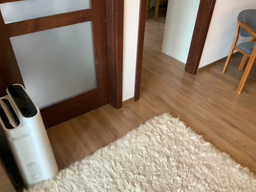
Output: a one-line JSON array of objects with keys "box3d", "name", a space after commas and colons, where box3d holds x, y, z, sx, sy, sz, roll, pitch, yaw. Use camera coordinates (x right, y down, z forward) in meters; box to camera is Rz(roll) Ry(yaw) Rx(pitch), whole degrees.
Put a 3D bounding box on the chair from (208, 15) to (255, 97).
[{"box3d": [1.380, -0.460, 2.330, 0.570, 0.670, 0.570, -7, 39, -12], "name": "chair"}]
